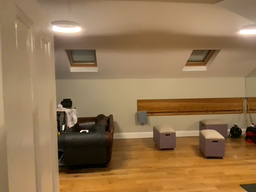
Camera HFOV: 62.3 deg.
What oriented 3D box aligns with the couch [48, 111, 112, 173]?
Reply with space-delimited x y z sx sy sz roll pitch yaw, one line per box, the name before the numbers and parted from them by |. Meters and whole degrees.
couch | -0.970 0.910 4.910 1.130 0.800 2.130 -1 4 -6
